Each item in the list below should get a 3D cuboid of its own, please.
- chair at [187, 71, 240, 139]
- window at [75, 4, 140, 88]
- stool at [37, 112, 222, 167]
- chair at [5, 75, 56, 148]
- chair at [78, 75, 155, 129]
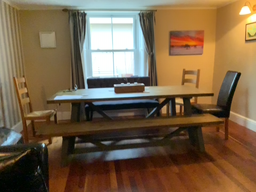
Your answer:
[{"bbox_3d":[1.340,0.130,3.420,0.640,1.010,0.450,-1,10,1],"label":"chair"},{"bbox_3d":[-0.440,-1.110,4.850,1.360,1.760,0.400,-3,10,-8],"label":"window"},{"bbox_3d":[0.060,0.550,2.860,2.320,0.450,0.400,-3,10,-7],"label":"stool"},{"bbox_3d":[-1.490,0.210,3.330,0.500,1.020,0.520,-2,10,-6],"label":"chair"},{"bbox_3d":[-0.220,0.080,4.200,1.400,0.910,0.530,-3,10,-8],"label":"chair"}]
